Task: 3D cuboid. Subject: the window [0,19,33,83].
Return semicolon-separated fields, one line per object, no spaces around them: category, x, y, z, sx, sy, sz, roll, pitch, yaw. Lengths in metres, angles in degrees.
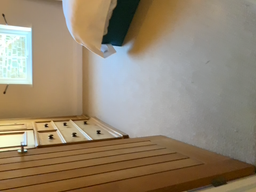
window;-2.250;-0.750;3.640;0.320;1.100;1.050;10;100;63
